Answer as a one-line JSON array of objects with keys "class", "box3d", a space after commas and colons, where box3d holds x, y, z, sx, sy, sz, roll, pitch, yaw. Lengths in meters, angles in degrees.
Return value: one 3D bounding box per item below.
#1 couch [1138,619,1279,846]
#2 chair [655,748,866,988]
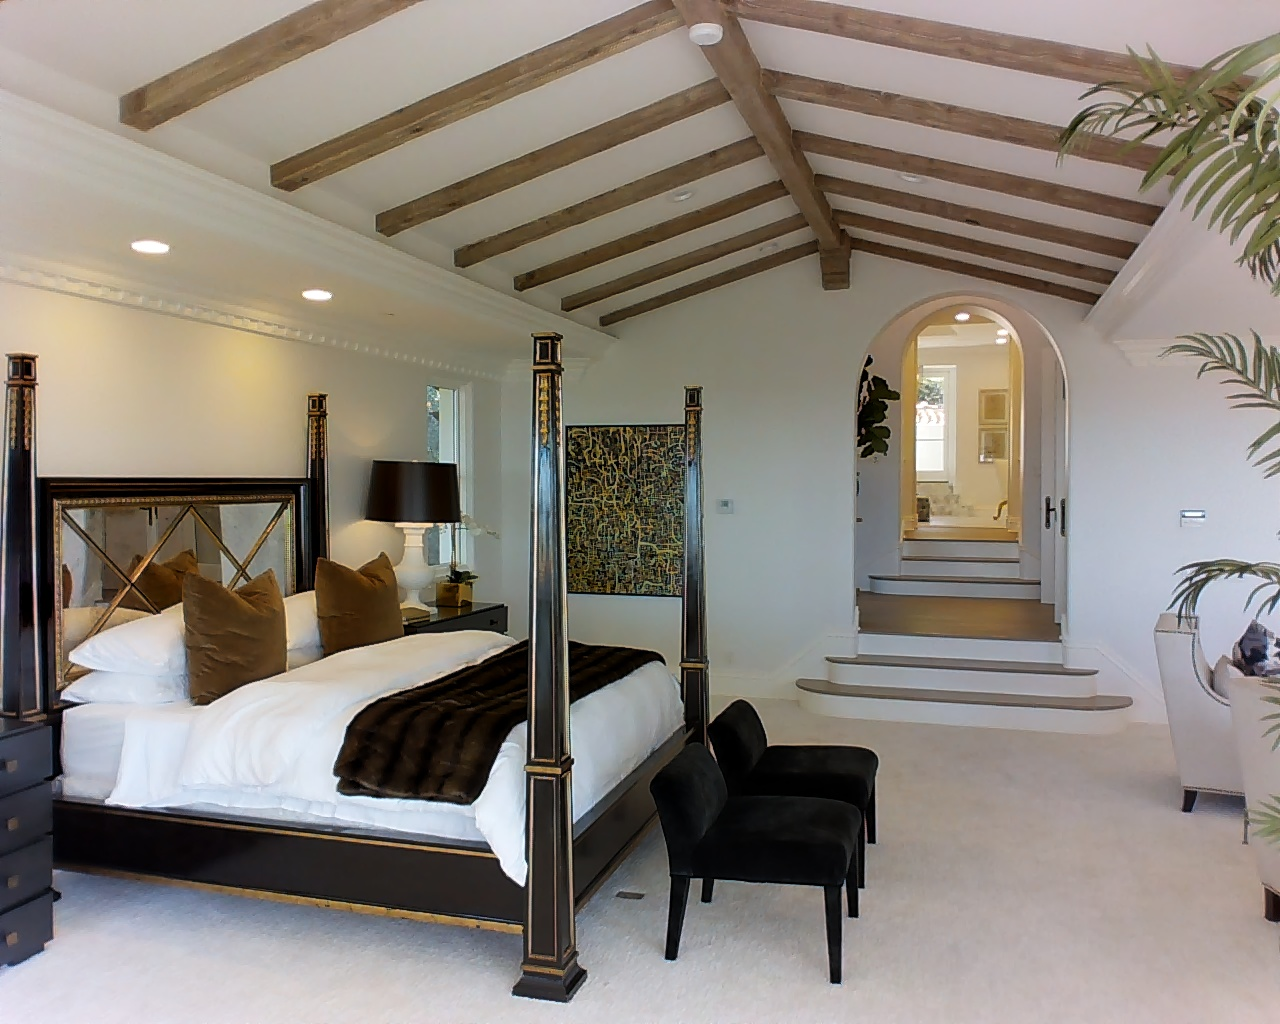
[{"class": "couch", "box3d": [3.579, 1.120, 5.560, 1.670, 0.950, 1.100, 0, 1, 17]}, {"class": "chair", "box3d": [0.470, 1.290, 4.020, 0.680, 0.620, 0.620, 0, 1, 17]}]
